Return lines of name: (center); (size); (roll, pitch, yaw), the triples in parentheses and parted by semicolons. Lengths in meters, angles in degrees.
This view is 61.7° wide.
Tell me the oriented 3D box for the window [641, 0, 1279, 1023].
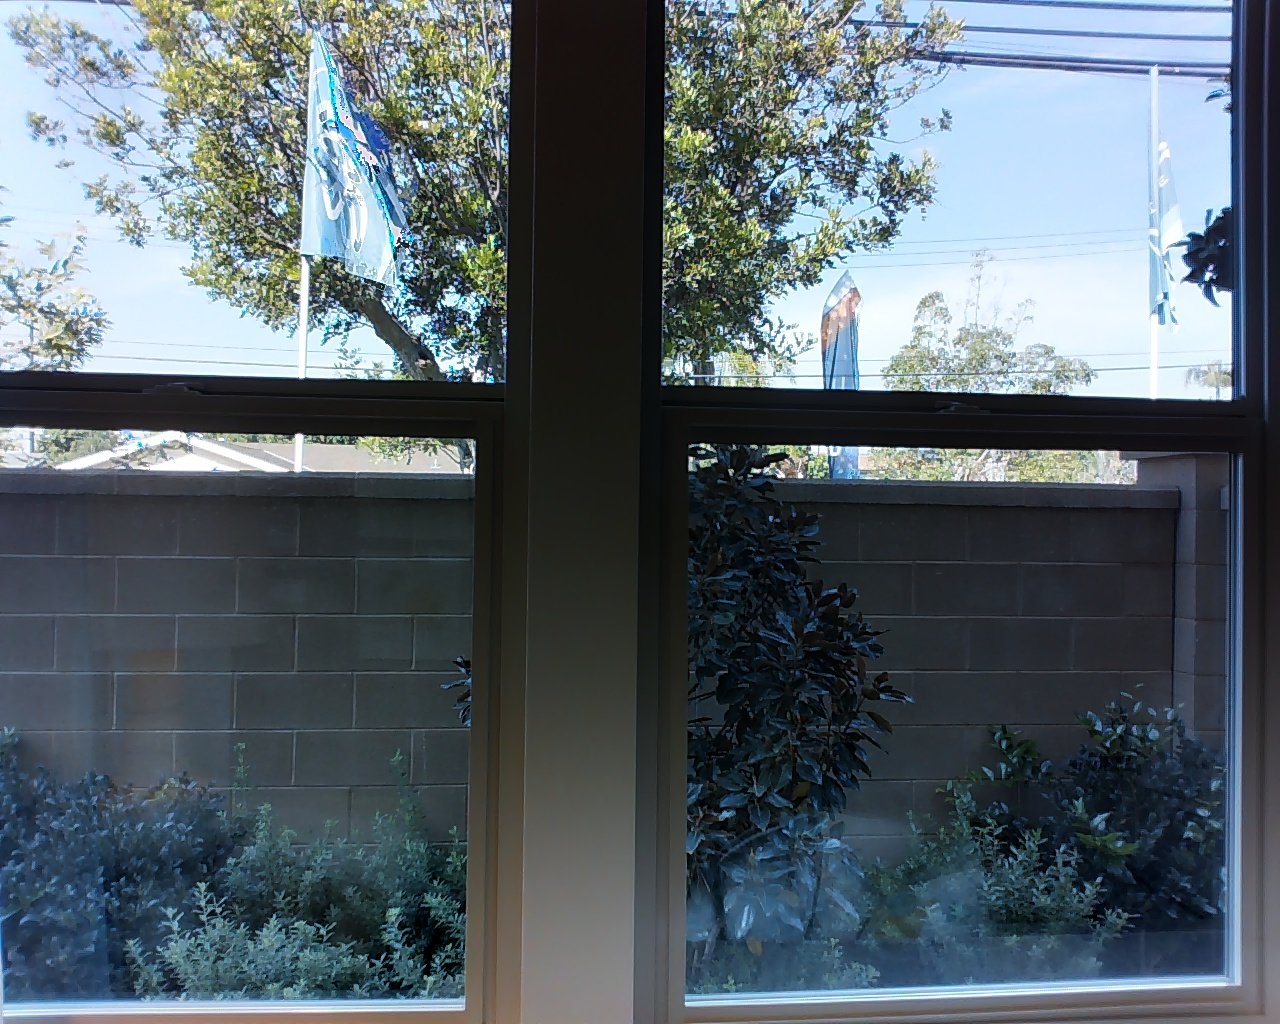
window: (0.440, -0.160, 1.390); (0.830, 1.561, 0.190); (1, 0, -5)
